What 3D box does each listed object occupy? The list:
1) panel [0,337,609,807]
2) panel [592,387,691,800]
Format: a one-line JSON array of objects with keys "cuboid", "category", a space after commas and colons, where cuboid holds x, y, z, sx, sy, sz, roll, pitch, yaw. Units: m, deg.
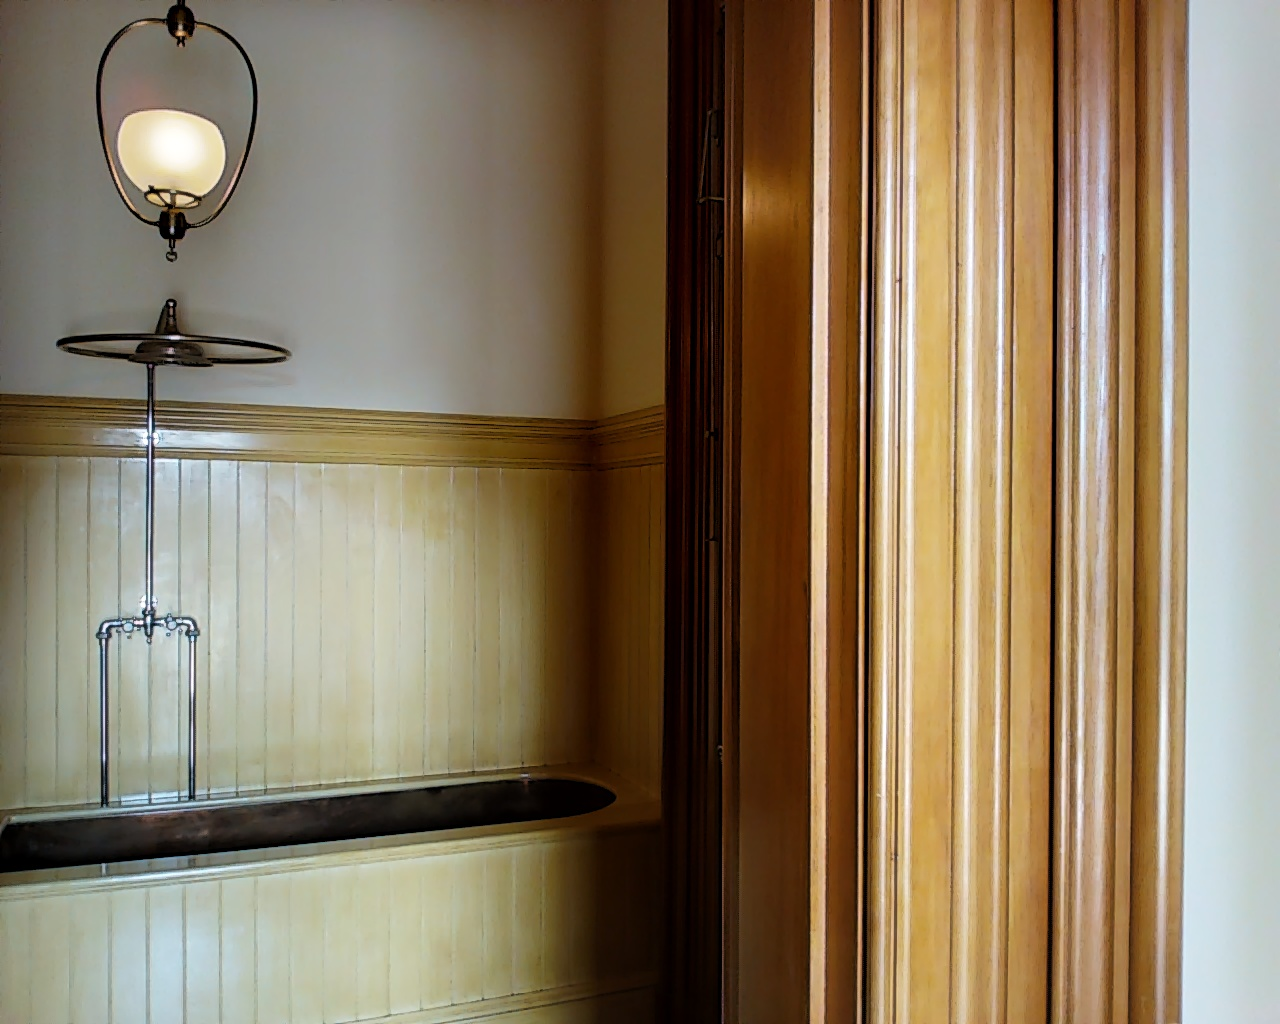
[{"cuboid": [-1.440, 0.180, 3.480, 2.820, 1.420, 0.070, 0, 0, -21], "category": "panel"}, {"cuboid": [-0.010, 0.250, 3.650, 0.060, 1.260, 0.770, 0, 0, -21], "category": "panel"}]
